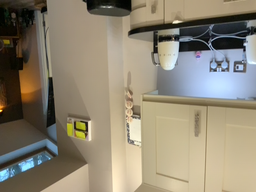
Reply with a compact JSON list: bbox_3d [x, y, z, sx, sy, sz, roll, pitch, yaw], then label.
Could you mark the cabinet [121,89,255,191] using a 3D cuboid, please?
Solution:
[{"bbox_3d":[0.540,0.440,1.590,1.090,0.900,0.440,4,-169,31],"label":"cabinet"}]
